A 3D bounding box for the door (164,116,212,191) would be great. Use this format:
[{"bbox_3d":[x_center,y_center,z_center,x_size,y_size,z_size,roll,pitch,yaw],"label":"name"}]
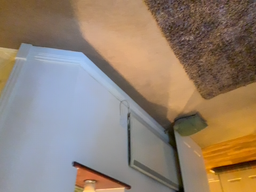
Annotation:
[{"bbox_3d":[0.740,1.280,2.100,0.110,2.050,0.920,-24,137,26],"label":"door"}]
